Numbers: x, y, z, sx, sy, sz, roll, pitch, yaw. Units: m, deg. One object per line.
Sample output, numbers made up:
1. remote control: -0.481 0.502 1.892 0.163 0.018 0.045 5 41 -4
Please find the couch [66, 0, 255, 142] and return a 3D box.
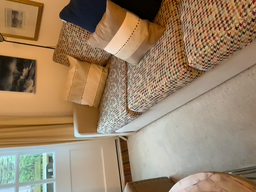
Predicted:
1. couch: 0.150 -0.520 1.570 2.270 0.650 1.180 -41 52 53
